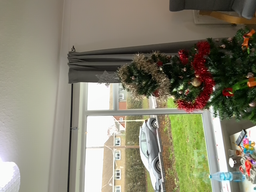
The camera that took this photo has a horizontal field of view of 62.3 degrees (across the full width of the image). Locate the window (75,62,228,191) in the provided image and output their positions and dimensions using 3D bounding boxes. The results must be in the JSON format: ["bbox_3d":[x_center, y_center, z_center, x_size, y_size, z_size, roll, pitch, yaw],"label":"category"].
[{"bbox_3d":[0.240,0.660,2.340,0.050,1.590,2.280,95,173,-70],"label":"window"}]
